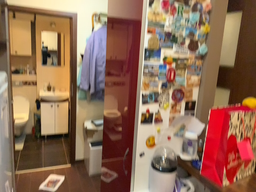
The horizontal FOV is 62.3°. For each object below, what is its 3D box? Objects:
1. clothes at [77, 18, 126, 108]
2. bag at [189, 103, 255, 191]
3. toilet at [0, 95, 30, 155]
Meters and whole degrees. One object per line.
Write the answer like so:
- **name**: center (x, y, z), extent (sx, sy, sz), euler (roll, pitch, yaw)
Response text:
- **clothes**: center (-0.370, -0.420, 2.810), extent (0.530, 1.080, 0.320), euler (-1, 13, -22)
- **bag**: center (0.530, 0.230, 1.020), extent (0.380, 0.340, 0.200), euler (-2, 13, -26)
- **toilet**: center (-2.020, 0.490, 3.750), extent (0.470, 0.910, 0.520), euler (-1, 13, -21)
